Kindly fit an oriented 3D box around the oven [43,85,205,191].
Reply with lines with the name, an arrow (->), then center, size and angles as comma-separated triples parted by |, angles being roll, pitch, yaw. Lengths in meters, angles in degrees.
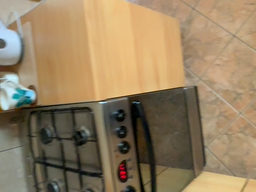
oven -> 0.010, 0.240, 1.250 | 0.590, 0.700, 0.500 | -6, 92, 39
